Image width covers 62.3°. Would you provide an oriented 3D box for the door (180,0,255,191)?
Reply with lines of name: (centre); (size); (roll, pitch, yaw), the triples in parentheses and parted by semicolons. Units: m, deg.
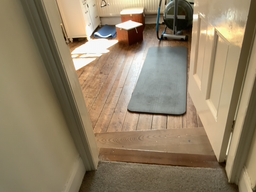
door: (0.450, -0.680, 0.950); (0.160, 2.430, 0.920); (-4, 35, 4)
